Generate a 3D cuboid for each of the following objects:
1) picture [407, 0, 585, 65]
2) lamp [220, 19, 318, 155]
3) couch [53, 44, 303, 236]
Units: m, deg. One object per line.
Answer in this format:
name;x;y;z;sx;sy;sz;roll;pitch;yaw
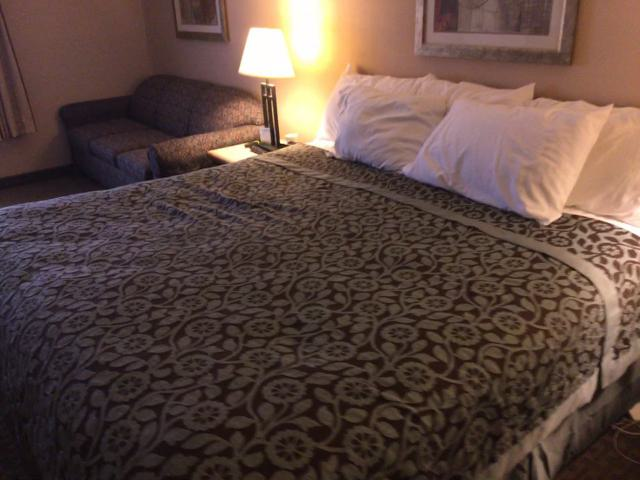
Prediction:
picture;0.670;-1.190;2.250;0.090;0.900;0.790;-19;30;-33
lamp;-0.270;-0.840;3.130;0.330;0.630;0.390;-19;30;-33
couch;-1.100;-0.860;4.190;0.860;0.870;2.050;-19;30;-33
